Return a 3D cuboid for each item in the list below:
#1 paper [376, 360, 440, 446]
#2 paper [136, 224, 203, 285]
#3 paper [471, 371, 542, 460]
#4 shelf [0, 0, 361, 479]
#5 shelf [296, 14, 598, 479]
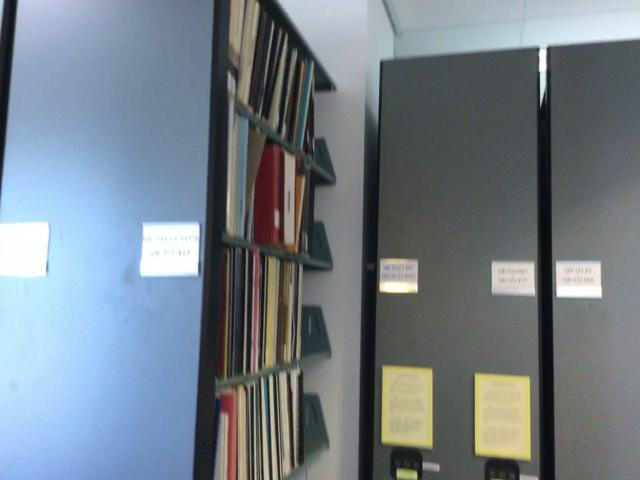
[{"bbox_3d":[0.280,0.520,1.850,0.180,0.260,0.050,-5,-10,14],"label":"paper"},{"bbox_3d":[-0.300,0.030,1.150,0.140,0.110,0.010,-5,-10,14],"label":"paper"},{"bbox_3d":[0.560,0.530,1.750,0.180,0.250,0.050,-5,-10,14],"label":"paper"},{"bbox_3d":[-0.370,0.600,1.610,0.760,2.500,1.060,-5,-10,14],"label":"shelf"},{"bbox_3d":[0.480,0.600,1.990,0.720,2.540,0.540,-9,-11,13],"label":"shelf"}]
